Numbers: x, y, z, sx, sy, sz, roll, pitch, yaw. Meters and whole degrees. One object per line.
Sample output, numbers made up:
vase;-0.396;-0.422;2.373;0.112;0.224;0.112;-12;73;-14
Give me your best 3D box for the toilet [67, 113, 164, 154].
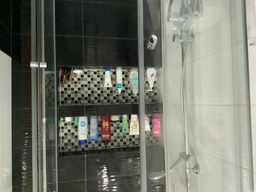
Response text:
toilet;-0.080;0.270;1.610;0.730;0.250;0.100;-1;179;-17
